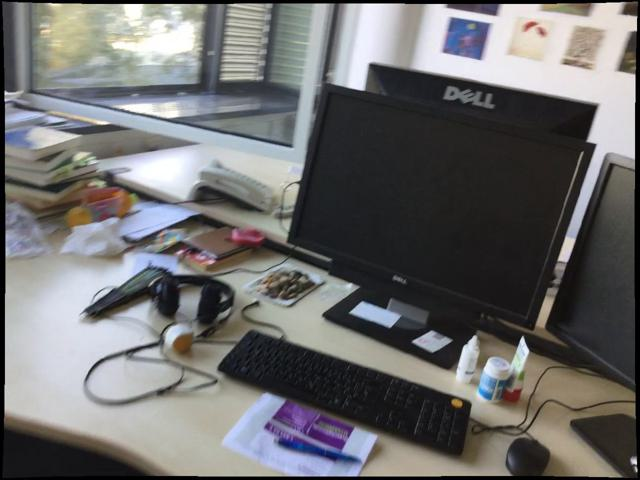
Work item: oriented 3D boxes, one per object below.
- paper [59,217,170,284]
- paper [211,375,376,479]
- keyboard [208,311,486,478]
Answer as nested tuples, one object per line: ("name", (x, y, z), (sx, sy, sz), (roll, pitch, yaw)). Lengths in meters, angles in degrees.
("paper", (-0.509, 0.020, 1.440), (0.200, 0.060, 0.170), (21, 26, 25))
("paper", (-0.040, 0.310, 0.940), (0.210, 0.020, 0.170), (21, 26, 25))
("keyboard", (0.050, 0.260, 1.060), (0.470, 0.030, 0.200), (18, 24, 19))
